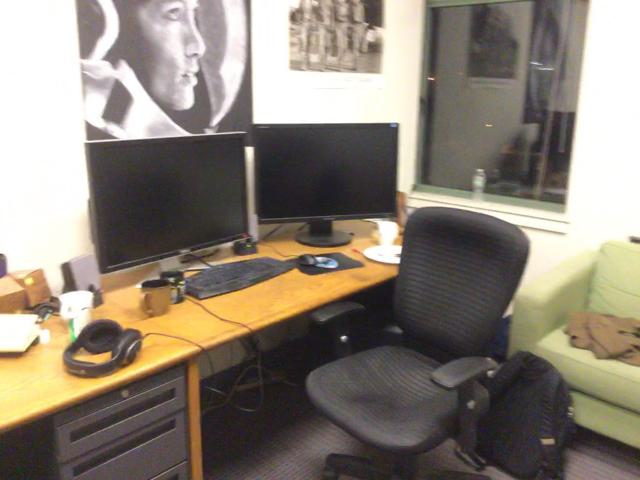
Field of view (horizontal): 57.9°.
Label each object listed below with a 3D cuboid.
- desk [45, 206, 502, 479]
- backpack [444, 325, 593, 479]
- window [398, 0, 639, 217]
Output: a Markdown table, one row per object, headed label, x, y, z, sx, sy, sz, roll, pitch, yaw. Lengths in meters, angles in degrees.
| label | x | y | z | sx | sy | sz | roll | pitch | yaw |
| --- | --- | --- | --- | --- | --- | --- | --- | --- | --- |
| desk | -0.040 | 0.400 | 2.530 | 0.900 | 0.730 | 1.820 | 11 | 19 | 39 |
| backpack | 0.760 | 0.630 | 2.250 | 0.450 | 0.430 | 0.280 | 11 | 19 | 39 |
| window | 1.000 | -0.990 | 3.010 | 1.110 | 1.570 | 0.410 | 11 | 19 | 39 |
